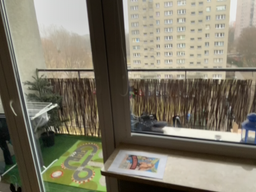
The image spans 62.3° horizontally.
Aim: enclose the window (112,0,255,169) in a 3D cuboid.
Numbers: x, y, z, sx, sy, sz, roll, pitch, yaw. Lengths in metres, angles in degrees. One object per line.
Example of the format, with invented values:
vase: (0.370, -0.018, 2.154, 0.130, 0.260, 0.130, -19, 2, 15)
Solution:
window: (0.640, -0.250, 1.090, 1.440, 1.340, 0.140, 2, 18, 16)
